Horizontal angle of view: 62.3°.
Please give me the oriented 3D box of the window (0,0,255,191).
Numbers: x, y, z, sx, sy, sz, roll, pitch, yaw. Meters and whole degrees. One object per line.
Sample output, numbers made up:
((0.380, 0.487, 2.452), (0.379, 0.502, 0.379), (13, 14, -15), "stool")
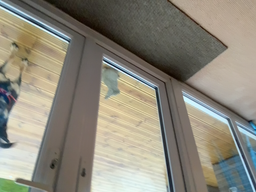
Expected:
((0.430, 0.690, 1.170), (3.450, 2.360, 0.250), (24, 133, -27), "window")
